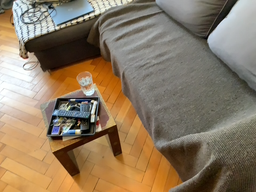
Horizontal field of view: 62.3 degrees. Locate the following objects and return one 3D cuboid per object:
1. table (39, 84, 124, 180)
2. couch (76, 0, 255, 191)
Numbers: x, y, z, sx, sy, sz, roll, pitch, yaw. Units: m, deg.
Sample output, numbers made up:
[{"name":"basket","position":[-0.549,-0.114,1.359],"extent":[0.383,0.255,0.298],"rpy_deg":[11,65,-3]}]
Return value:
[{"name":"table","position":[-0.280,0.230,1.360],"extent":[0.360,0.370,0.360],"rpy_deg":[-24,54,-15]},{"name":"couch","position":[0.350,-0.560,1.640],"extent":[1.100,0.840,2.400],"rpy_deg":[-19,53,-11]}]
